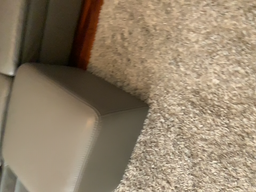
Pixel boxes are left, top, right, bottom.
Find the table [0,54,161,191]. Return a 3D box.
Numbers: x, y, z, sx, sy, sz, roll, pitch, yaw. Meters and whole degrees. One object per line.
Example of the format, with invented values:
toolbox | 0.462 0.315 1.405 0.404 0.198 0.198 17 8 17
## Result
table | -0.260 0.180 1.040 0.530 0.440 0.560 29 107 27
